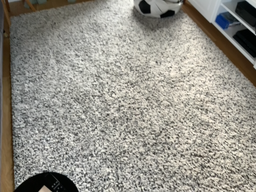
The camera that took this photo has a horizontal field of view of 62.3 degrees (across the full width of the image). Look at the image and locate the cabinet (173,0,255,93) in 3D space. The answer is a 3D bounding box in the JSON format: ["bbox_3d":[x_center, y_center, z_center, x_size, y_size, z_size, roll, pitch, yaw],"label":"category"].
[{"bbox_3d":[1.020,-0.600,1.750,0.430,0.500,1.830,-15,54,-12],"label":"cabinet"}]
